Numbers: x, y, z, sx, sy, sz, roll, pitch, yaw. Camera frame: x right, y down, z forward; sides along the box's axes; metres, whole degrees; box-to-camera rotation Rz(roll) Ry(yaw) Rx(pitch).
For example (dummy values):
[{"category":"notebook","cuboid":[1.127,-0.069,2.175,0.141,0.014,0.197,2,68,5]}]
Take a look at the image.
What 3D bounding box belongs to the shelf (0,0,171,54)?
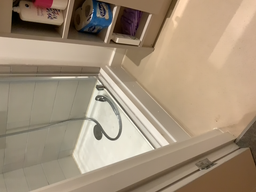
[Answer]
[{"category":"shelf","cuboid":[-0.180,-0.380,1.000,0.240,0.780,0.240,47,129,36]}]
